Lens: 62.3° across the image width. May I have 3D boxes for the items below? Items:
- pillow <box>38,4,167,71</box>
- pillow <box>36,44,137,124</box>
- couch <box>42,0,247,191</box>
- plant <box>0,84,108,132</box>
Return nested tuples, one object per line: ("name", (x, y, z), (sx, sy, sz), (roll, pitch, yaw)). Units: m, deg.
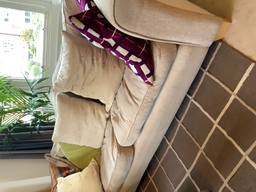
("pillow", (-0.140, -0.350, 1.250), (0.560, 0.490, 0.150), (32, 117, 28))
("pillow", (-0.310, -0.100, 1.620), (0.160, 0.550, 0.630), (52, 124, 15))
("couch", (-0.230, 0.130, 1.810), (0.960, 0.770, 2.190), (61, 141, 45))
("plant", (-1.060, 0.140, 2.780), (0.430, 1.480, 0.440), (43, 127, 56))
